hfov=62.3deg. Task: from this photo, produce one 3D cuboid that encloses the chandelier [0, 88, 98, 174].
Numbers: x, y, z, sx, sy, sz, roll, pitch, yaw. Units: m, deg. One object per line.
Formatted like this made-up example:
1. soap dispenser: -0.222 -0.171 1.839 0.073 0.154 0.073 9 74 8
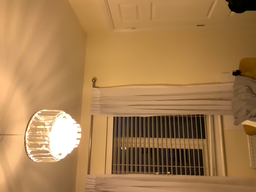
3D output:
1. chandelier: -0.410 0.190 1.090 0.330 0.420 0.330 81 10 -59
